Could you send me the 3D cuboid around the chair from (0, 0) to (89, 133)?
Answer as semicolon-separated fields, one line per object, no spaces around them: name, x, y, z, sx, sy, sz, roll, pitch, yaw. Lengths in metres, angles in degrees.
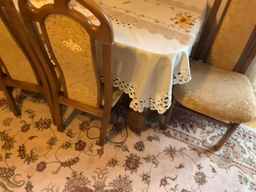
chair;-0.600;-0.350;1.330;0.430;1.070;0.570;17;49;9

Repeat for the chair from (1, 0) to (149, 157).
chair;-0.200;-0.200;1.240;0.430;1.060;0.570;17;49;9

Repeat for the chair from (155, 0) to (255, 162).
chair;0.570;-0.170;1.290;0.470;1.070;0.570;21;50;12
